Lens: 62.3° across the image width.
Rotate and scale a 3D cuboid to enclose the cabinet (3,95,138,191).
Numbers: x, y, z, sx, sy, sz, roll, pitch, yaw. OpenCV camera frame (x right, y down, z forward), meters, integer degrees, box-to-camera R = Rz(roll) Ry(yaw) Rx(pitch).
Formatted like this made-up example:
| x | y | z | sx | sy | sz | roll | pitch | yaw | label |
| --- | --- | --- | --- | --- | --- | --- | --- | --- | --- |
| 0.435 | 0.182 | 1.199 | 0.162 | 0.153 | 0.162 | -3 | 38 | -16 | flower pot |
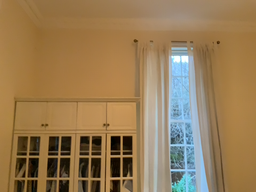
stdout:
| x | y | z | sx | sy | sz | roll | pitch | yaw | label |
| --- | --- | --- | --- | --- | --- | --- | --- | --- | --- |
| -0.670 | 1.110 | 2.750 | 1.540 | 2.190 | 0.570 | 0 | -9 | -3 | cabinet |
